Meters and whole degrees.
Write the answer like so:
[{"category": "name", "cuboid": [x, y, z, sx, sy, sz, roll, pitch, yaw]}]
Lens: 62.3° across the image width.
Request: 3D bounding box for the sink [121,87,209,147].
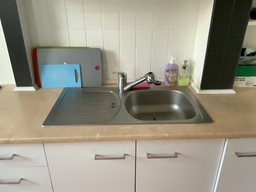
[{"category": "sink", "cuboid": [0.170, 0.100, 1.200, 0.410, 0.160, 0.370, 0, 26, -2]}]
